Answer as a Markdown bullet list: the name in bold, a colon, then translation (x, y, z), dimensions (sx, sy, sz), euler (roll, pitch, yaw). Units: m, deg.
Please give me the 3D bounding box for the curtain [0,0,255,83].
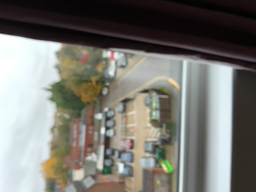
- **curtain**: translation (0.130, -0.360, 0.850), dimensions (0.250, 1.920, 0.460), euler (176, 99, -72)
